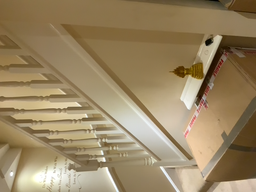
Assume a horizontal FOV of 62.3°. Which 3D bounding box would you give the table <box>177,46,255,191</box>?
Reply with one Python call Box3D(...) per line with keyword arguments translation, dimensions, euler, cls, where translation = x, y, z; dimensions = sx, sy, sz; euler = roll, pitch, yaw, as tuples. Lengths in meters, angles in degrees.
Box3D(translation=(0.870, 0.200, 1.490), dimensions=(0.470, 0.690, 0.930), euler=(-102, 17, -46), cls="table")
